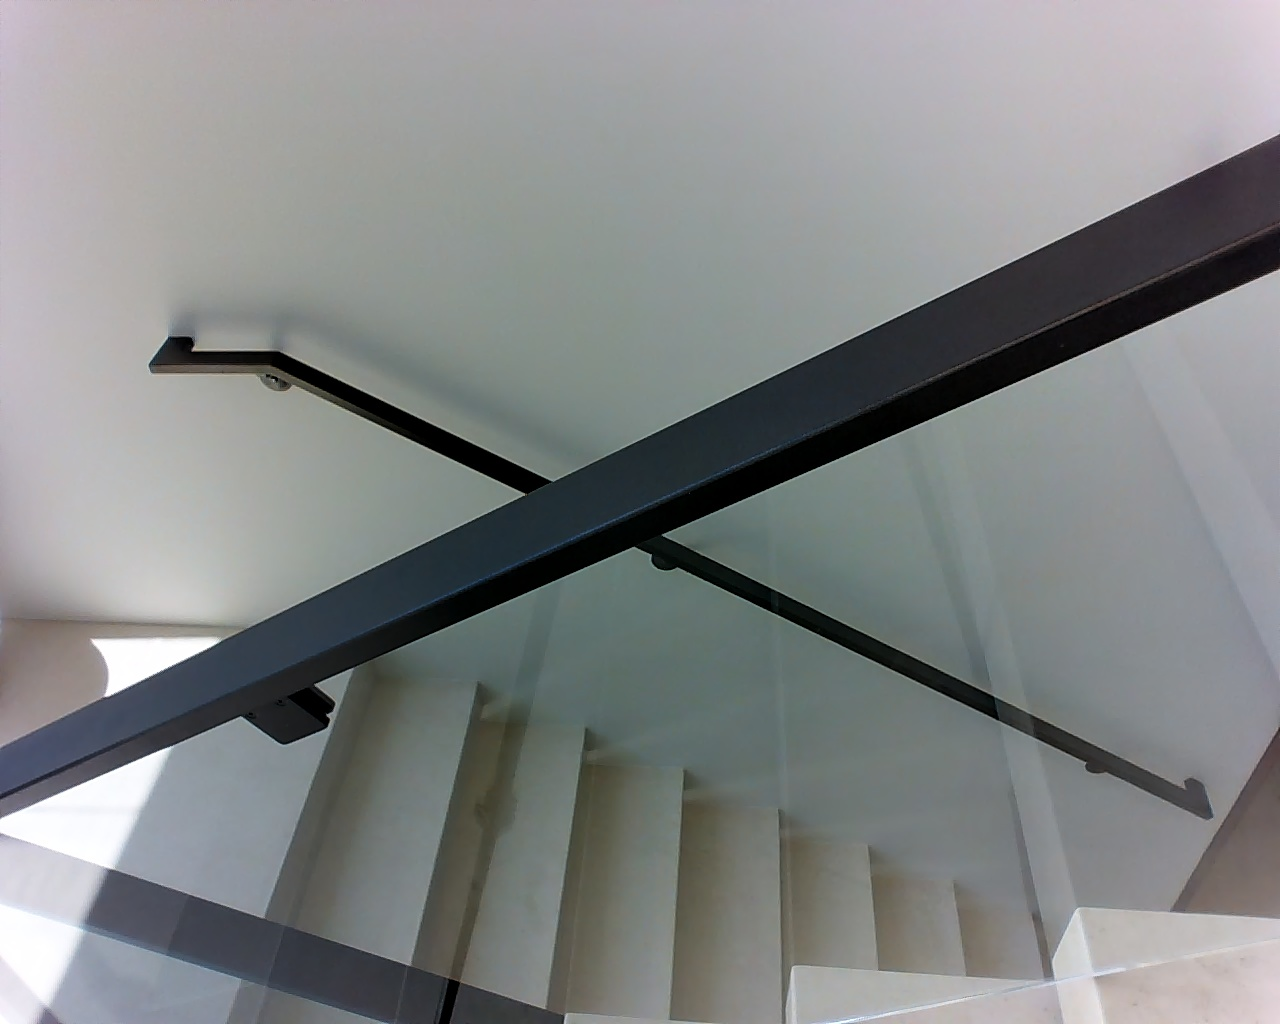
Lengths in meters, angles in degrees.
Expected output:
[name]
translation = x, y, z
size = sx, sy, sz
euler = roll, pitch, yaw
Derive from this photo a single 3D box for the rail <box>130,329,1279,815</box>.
[rail]
translation = 0.230, 0.210, 2.510
size = 2.420, 1.370, 0.130
euler = 2, 42, 5
